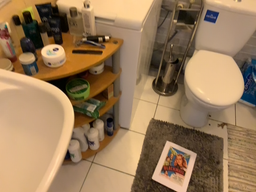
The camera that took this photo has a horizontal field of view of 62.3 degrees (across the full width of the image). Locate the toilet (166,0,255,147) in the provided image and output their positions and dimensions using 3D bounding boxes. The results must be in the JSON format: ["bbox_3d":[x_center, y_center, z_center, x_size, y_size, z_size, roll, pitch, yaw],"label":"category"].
[{"bbox_3d":[0.560,-0.170,1.410,0.360,0.750,0.650,15,51,7],"label":"toilet"}]
